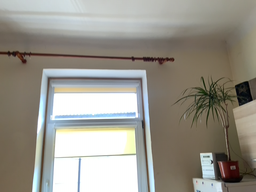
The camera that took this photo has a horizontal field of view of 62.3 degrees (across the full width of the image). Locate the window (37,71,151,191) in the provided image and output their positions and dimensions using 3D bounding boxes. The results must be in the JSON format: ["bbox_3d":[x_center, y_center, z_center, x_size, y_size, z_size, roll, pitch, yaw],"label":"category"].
[{"bbox_3d":[-0.360,0.670,2.400,1.170,1.980,0.210,0,-17,-6],"label":"window"}]
